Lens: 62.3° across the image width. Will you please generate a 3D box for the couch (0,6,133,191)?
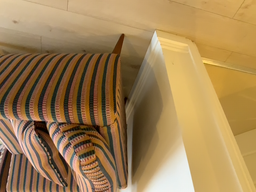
[{"bbox_3d":[-0.410,0.140,1.180,0.810,0.800,0.860,-4,139,1],"label":"couch"}]
